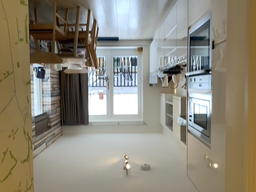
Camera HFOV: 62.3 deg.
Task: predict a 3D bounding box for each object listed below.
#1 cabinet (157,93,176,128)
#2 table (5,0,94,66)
[{"bbox_3d":[0.920,0.330,5.180,0.320,0.790,0.650,0,-177,-1],"label":"cabinet"},{"bbox_3d":[-1.190,-0.970,3.690,0.960,0.750,1.620,0,-177,-1],"label":"table"}]
